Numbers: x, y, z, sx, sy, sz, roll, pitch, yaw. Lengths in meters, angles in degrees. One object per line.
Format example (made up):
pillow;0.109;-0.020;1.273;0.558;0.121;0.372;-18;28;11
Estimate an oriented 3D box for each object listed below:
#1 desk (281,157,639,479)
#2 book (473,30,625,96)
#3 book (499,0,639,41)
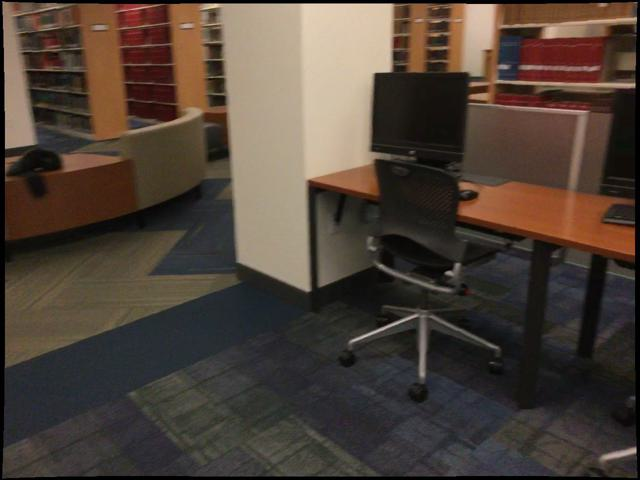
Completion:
desk;2.184;0.652;0.970;0.729;0.792;6.093;-20;25;-39
book;1.376;-1.083;3.520;0.429;0.331;0.729;-20;25;-39
book;1.436;-1.303;3.220;0.210;0.331;0.829;-20;25;-39
